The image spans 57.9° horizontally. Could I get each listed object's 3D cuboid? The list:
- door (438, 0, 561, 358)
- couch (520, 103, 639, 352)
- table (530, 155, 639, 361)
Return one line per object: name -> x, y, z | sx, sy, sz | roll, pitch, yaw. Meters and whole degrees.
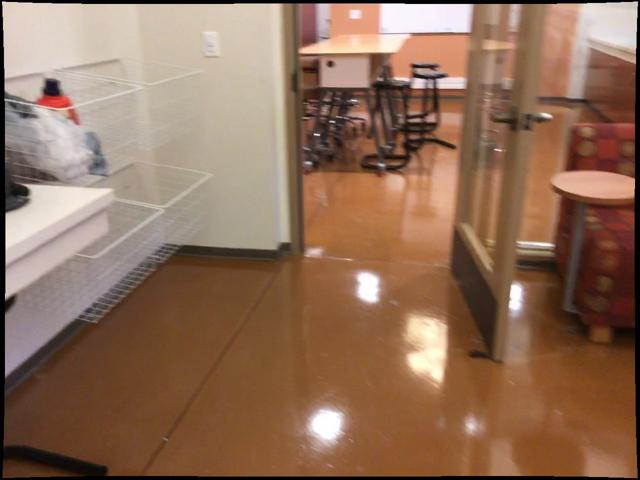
door -> 0.669, -0.470, 2.350 | 0.130, 1.581, 0.980 | -1, 23, 1
couch -> 1.379, -0.100, 2.470 | 0.819, 0.791, 0.880 | 3, 24, 11
table -> 1.059, 0.060, 2.250 | 0.340, 0.701, 0.350 | 3, 24, 11
